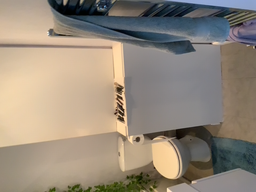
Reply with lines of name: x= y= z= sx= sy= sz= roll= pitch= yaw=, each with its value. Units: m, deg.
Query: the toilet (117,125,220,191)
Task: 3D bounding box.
toilet: x=0.350 y=0.570 z=2.070 sx=0.700 sy=0.700 sz=0.400 roll=-177 pitch=83 yaw=-68
